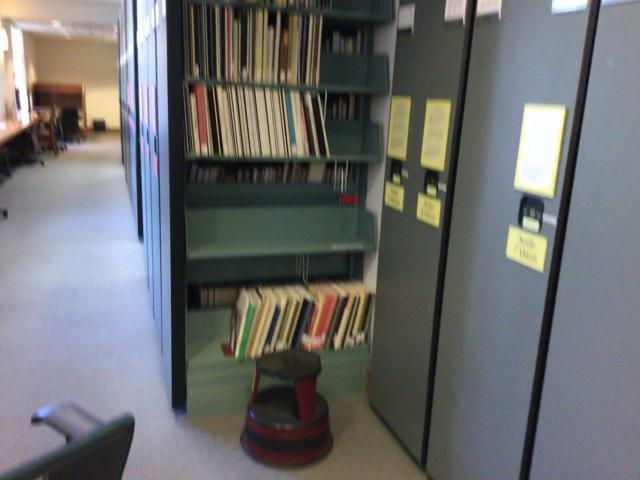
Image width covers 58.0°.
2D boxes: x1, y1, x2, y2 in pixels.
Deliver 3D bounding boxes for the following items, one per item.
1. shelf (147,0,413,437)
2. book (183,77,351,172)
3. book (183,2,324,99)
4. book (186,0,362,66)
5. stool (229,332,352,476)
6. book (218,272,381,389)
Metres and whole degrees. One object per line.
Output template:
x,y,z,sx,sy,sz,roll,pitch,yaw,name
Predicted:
-0.230,-0.460,2.690,1.040,2.460,0.700,-2,12,-18,shelf
-0.220,-0.480,2.460,0.690,0.370,0.130,-2,12,-18,book
-0.270,-0.770,2.390,0.560,0.340,0.110,-2,12,-18,book
-0.190,-1.020,2.370,0.680,0.530,0.250,-2,12,-18,book
-0.150,0.680,2.510,0.410,0.370,0.510,-2,12,-18,stool
-0.120,0.420,2.870,0.700,0.390,0.450,-2,12,-18,book
